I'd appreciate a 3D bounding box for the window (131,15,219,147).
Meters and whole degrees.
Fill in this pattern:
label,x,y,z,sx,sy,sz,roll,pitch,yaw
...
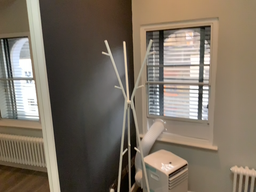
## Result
label,x,y,z,sx,sy,sz,roll,pitch,yaw
window,0.440,-0.130,2.170,0.840,1.240,0.040,4,14,26
